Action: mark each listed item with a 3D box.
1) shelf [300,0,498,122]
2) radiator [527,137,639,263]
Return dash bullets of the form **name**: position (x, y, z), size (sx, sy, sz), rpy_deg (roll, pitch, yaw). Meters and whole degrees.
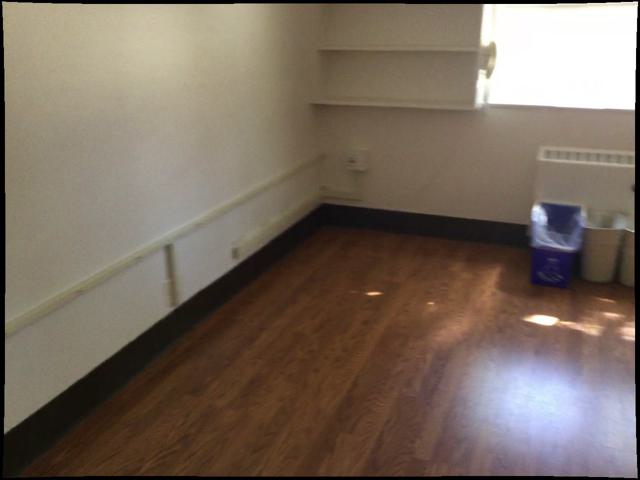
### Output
- **shelf**: position (0.420, -1.512, 3.080), size (1.029, 1.621, 0.320), rpy_deg (9, 25, 22)
- **radiator**: position (1.698, -0.180, 3.010), size (1.099, 0.590, 0.140), rpy_deg (9, 25, 22)
